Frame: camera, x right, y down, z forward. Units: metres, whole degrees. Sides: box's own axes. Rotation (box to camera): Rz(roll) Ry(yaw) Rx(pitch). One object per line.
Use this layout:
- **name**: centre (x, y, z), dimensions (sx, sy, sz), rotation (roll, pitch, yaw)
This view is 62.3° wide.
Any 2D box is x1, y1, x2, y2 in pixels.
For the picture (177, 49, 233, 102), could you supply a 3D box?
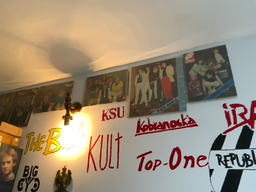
- **picture**: centre (0.420, -0.120, 1.200), dimensions (0.260, 0.310, 0.030), rotation (-5, -29, 15)

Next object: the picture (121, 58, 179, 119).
- **picture**: centre (0.130, -0.050, 1.300), dimensions (0.330, 0.360, 0.040), rotation (-7, -30, 18)

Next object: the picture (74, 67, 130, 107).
- **picture**: centre (-0.180, -0.060, 1.460), dimensions (0.380, 0.250, 0.030), rotation (-7, -30, 18)
